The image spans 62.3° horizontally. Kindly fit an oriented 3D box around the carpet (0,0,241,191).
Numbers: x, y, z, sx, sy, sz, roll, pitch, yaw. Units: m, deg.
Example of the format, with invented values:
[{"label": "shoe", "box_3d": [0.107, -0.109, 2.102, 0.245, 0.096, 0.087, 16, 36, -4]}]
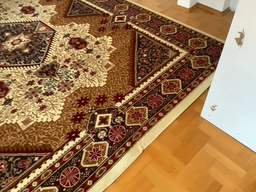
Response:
[{"label": "carpet", "box_3d": [-1.400, -0.710, 2.490, 2.980, 0.060, 4.140, -38, 58, -25]}]
